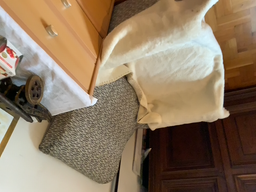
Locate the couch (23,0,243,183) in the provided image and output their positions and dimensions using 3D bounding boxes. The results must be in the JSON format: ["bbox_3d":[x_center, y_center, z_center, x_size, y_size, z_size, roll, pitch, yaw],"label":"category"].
[{"bbox_3d":[0.100,-0.110,1.230,0.790,0.970,0.620,-12,139,21],"label":"couch"}]
